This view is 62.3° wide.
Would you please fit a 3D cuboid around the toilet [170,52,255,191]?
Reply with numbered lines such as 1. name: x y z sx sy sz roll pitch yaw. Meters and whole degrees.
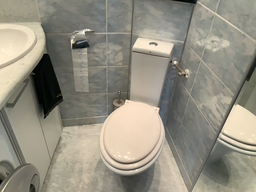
1. toilet: 0.780 0.180 1.600 0.520 0.740 0.620 -13 42 -21

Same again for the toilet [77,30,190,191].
1. toilet: 0.060 0.150 1.370 0.420 0.850 0.710 13 39 10

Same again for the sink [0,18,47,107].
1. sink: -0.700 -0.200 1.050 0.470 0.170 0.590 -3 39 -10
